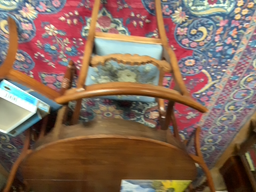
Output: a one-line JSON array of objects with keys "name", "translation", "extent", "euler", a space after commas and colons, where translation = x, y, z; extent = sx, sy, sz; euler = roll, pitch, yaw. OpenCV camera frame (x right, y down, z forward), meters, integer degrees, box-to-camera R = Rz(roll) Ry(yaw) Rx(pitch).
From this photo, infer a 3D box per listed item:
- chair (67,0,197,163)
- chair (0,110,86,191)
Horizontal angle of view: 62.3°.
[{"name": "chair", "translation": [-0.030, -0.170, 1.170], "extent": [0.430, 0.870, 0.530], "euler": [5, 138, -8]}, {"name": "chair", "translation": [-0.740, 0.600, 2.050], "extent": [0.530, 0.830, 0.440], "euler": [1, 139, -3]}]
